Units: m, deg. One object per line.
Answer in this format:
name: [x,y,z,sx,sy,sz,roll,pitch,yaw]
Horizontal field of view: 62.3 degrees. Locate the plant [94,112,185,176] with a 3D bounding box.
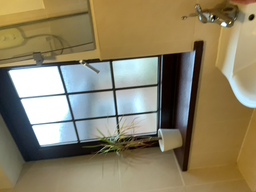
plant: [0.070,0.320,1.410,0.200,0.540,0.320,-98,4,-56]
